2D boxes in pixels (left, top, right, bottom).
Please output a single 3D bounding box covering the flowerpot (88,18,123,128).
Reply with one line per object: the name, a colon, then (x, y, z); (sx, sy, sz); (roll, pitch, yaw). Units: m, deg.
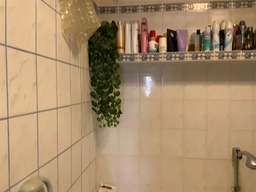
flowerpot: (-0.140, -0.140, 1.380); (0.160, 0.650, 0.220); (1, 2, 11)
